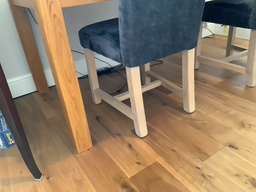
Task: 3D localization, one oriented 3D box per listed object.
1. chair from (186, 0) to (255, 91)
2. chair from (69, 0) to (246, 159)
[{"bbox_3d":[0.850,-0.690,1.420,0.470,1.100,0.720,-20,33,-24],"label":"chair"},{"bbox_3d":[0.090,-0.410,1.050,0.520,1.100,0.690,-21,33,-26],"label":"chair"}]
